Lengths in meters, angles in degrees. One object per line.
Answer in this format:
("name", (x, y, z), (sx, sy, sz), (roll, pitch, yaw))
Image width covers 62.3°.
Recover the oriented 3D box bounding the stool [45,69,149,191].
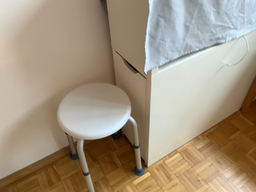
("stool", (-0.140, 0.210, 1.080), (0.320, 0.500, 0.360), (-24, 49, -21))
